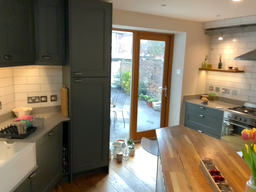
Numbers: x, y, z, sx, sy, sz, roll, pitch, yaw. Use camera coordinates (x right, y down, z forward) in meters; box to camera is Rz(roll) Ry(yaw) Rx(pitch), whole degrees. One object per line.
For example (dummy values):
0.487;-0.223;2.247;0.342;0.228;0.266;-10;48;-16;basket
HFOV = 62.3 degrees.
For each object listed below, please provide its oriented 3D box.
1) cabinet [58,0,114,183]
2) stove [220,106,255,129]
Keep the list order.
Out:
-0.570;-0.060;2.830;0.580;2.270;0.450;-3;12;-27;cabinet
1.940;0.340;3.070;0.620;0.140;0.930;-4;12;-31;stove
